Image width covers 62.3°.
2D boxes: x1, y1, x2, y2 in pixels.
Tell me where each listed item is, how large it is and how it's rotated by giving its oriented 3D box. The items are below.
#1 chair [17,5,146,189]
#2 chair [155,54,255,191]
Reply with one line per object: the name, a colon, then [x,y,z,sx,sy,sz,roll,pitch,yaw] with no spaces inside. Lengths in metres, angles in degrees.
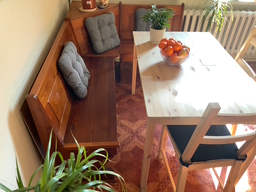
chair: [-0.340,-0.220,2.070,0.650,0.780,1.890,-1,37,-6]
chair: [0.480,0.260,1.370,0.410,0.910,0.510,-2,37,-6]
